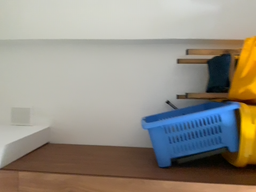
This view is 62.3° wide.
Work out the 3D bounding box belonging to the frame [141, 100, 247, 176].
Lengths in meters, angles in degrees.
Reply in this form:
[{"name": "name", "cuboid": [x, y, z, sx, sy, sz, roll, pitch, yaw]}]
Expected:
[{"name": "frame", "cuboid": [0.390, 0.240, 1.450, 0.480, 0.580, 0.400, 8, -96, -85]}]
